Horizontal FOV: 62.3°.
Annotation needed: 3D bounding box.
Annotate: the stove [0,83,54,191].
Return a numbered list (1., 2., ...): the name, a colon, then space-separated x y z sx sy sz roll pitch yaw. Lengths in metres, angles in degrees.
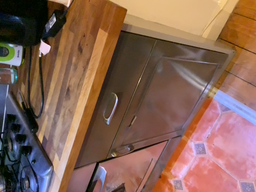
1. stove: -0.540 0.340 0.990 0.560 0.040 0.600 41 120 36
